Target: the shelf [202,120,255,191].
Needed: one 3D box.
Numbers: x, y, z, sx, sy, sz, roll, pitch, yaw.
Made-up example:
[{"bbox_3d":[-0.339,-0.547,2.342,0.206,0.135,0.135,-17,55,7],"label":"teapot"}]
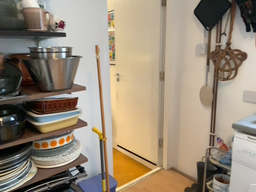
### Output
[{"bbox_3d":[0.790,0.580,1.590,0.450,0.680,0.240,-11,15,-40],"label":"shelf"}]
